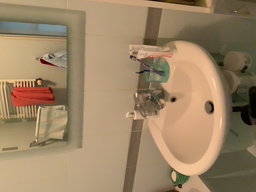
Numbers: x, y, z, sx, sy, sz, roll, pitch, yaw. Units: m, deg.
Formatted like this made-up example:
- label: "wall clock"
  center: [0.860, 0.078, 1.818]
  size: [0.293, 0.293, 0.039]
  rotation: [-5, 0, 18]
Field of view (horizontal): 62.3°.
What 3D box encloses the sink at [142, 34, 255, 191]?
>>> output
- label: "sink"
  center: [0.290, 0.060, 0.910]
  size: [0.470, 0.220, 0.540]
  rotation: [-127, 40, -58]
